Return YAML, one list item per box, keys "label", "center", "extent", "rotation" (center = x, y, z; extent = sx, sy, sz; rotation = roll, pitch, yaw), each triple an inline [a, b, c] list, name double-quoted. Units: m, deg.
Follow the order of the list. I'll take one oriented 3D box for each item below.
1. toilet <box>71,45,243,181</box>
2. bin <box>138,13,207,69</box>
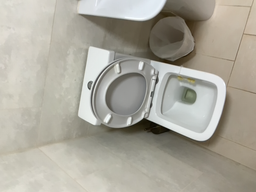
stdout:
- label: "toilet"
  center: [0.210, 0.020, 1.210]
  extent: [0.560, 0.810, 0.400]
  rotation: [22, 105, 36]
- label: "bin"
  center: [0.300, -0.360, 1.430]
  extent: [0.270, 0.320, 0.270]
  rotation: [27, 108, 35]
